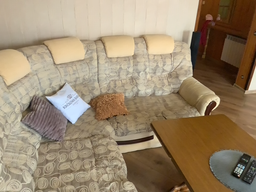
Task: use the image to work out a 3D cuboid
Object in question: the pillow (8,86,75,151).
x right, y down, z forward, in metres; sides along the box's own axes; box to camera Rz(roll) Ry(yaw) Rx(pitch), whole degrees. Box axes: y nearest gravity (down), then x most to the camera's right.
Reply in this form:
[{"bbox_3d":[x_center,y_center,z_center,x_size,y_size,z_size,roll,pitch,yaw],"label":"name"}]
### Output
[{"bbox_3d":[-0.750,0.190,1.860,0.220,0.350,0.450,43,39,1],"label":"pillow"}]
